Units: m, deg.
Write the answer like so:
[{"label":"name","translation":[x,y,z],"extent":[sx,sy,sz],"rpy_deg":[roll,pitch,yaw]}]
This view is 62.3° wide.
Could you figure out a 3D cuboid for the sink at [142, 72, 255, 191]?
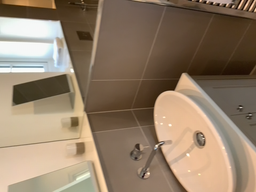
[{"label":"sink","translation":[0.280,0.210,1.010],"extent":[0.590,0.100,0.380],"rpy_deg":[-118,34,-43]}]
